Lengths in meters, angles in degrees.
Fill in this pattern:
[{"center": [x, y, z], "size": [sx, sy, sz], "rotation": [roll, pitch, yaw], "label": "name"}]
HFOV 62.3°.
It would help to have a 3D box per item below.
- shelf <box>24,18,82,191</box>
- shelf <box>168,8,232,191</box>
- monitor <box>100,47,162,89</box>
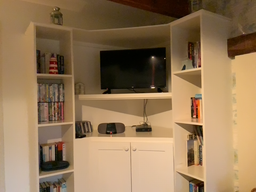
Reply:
[{"center": [-0.750, 0.320, 2.100], "size": [0.390, 1.960, 0.460], "rotation": [-2, 0, -35], "label": "shelf"}, {"center": [0.660, 0.280, 1.930], "size": [0.390, 1.960, 0.340], "rotation": [-2, 0, -35], "label": "shelf"}, {"center": [0.030, -0.300, 2.330], "size": [0.670, 0.420, 0.050], "rotation": [-2, 0, 8], "label": "monitor"}]
